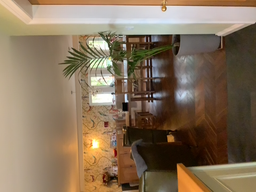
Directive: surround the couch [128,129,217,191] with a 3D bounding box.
[{"bbox_3d":[0.560,1.090,3.110,0.800,1.000,0.880,-112,21,-69],"label":"couch"}]
